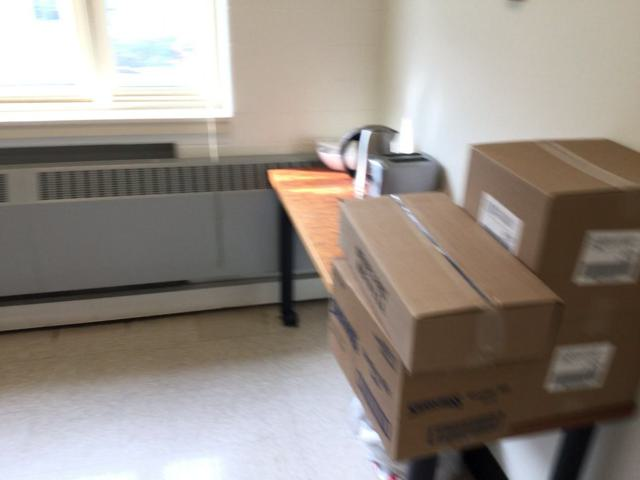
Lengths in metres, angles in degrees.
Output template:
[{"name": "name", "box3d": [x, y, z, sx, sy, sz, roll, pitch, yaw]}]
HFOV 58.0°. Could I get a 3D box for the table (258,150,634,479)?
[{"name": "table", "box3d": [0.180, 0.300, 1.950, 0.500, 0.780, 1.520, -4, 26, -16]}]
